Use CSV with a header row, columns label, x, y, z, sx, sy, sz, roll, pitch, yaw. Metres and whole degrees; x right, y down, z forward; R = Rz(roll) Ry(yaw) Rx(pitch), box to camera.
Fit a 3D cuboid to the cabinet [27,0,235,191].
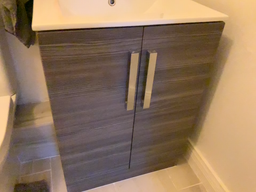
label,x,y,z,sx,sy,sz,roll,pitch,yaw
cabinet,-0.050,-0.010,1.040,0.650,0.820,0.470,-9,39,-18
